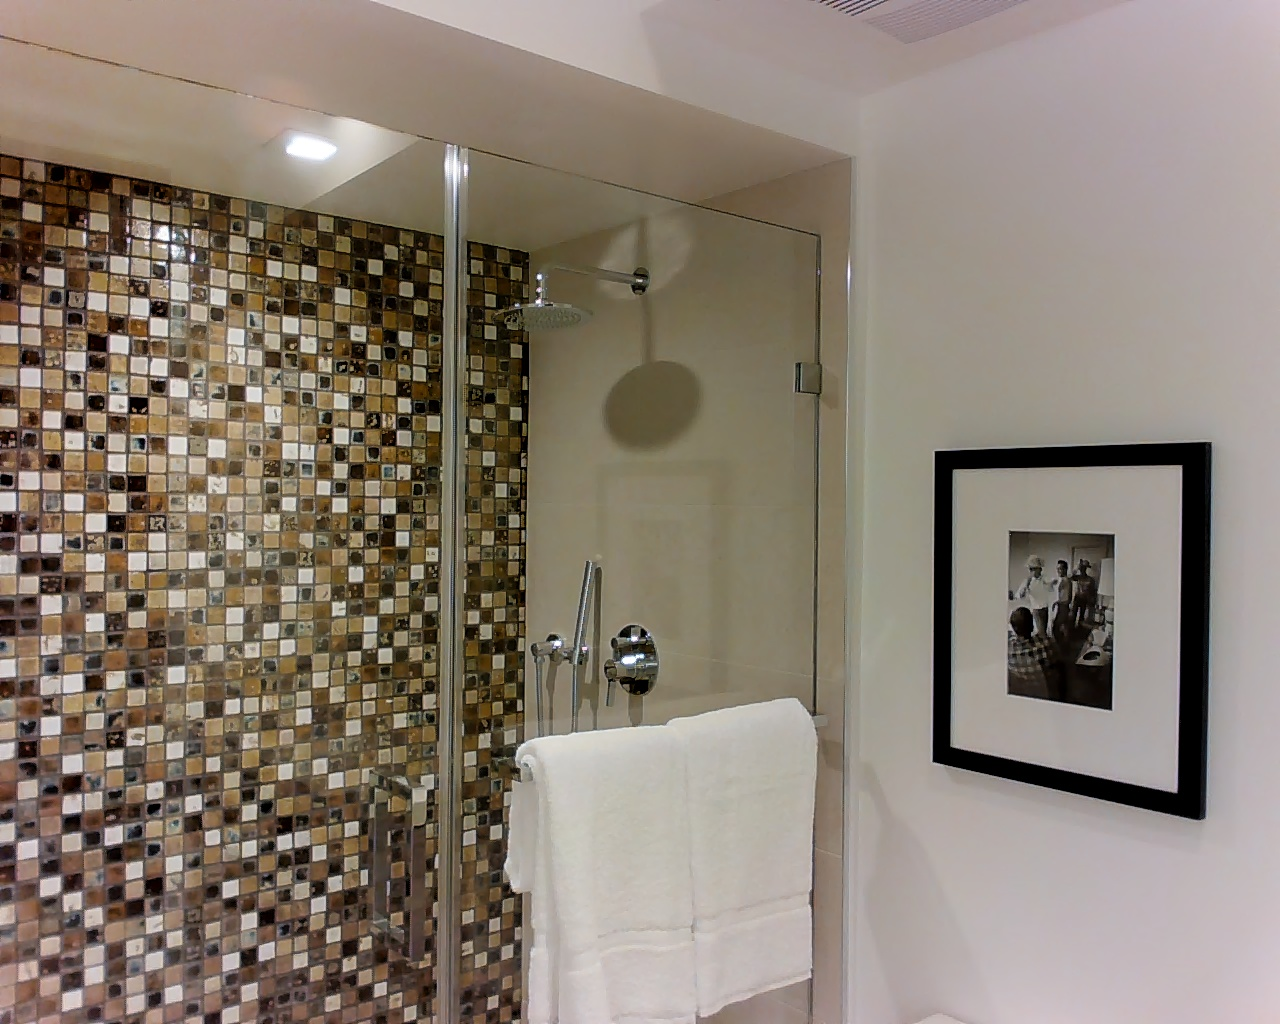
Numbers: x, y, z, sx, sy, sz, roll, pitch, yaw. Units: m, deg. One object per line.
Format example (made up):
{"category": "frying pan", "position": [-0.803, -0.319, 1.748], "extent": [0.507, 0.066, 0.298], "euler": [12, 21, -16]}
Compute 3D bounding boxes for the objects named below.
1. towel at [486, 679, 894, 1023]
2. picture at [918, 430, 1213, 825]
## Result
{"category": "towel", "position": [0.100, 0.540, 1.680], "extent": [0.650, 0.470, 0.220], "euler": [0, 1, -39]}
{"category": "picture", "position": [0.610, 0.150, 1.600], "extent": [0.040, 0.520, 0.440], "euler": [0, 1, -39]}
